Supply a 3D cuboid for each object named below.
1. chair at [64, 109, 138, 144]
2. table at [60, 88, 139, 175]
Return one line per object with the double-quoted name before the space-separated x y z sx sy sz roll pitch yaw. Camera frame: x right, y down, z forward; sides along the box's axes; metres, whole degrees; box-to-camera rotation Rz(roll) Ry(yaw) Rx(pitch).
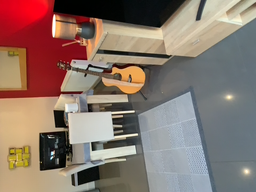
"chair" -0.390 0.420 2.980 0.500 0.890 0.380 -21 73 62
"table" -0.630 0.670 3.680 1.760 0.730 1.120 -33 62 60
